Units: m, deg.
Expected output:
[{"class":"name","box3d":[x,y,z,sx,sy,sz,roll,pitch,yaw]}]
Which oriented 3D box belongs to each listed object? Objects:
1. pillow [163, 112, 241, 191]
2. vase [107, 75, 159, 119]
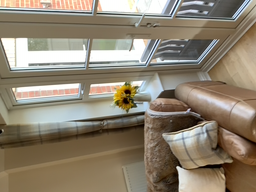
[{"class":"pillow","box3d":[0.560,0.730,1.720,0.350,0.410,1.100,-151,58,-66]},{"class":"vase","box3d":[0.040,0.010,2.310,0.330,0.420,0.320,116,143,-55]}]
